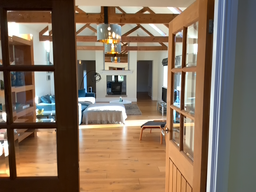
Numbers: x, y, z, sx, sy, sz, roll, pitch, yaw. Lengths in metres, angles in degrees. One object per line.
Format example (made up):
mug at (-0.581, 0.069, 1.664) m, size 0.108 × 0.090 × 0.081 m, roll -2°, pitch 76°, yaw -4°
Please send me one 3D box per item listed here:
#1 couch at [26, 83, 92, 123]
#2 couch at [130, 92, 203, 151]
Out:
couch at (-2.220, 0.100, 7.720) m, size 1.360 × 0.850 × 3.590 m, roll 1°, pitch 8°, yaw -2°
couch at (0.820, 0.490, 4.710) m, size 1.410 × 0.990 × 0.660 m, roll 6°, pitch 9°, yaw 32°
